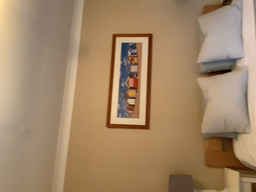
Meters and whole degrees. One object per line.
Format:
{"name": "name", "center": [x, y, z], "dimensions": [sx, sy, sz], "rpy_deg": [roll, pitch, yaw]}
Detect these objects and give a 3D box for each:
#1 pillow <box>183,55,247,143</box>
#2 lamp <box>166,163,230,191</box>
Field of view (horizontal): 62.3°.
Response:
{"name": "pillow", "center": [0.780, 0.030, 1.850], "dimensions": [0.130, 0.440, 0.600], "rpy_deg": [5, 63, 58]}
{"name": "lamp", "center": [0.630, 0.830, 1.980], "dimensions": [0.250, 0.530, 0.330], "rpy_deg": [56, -143, -77]}
